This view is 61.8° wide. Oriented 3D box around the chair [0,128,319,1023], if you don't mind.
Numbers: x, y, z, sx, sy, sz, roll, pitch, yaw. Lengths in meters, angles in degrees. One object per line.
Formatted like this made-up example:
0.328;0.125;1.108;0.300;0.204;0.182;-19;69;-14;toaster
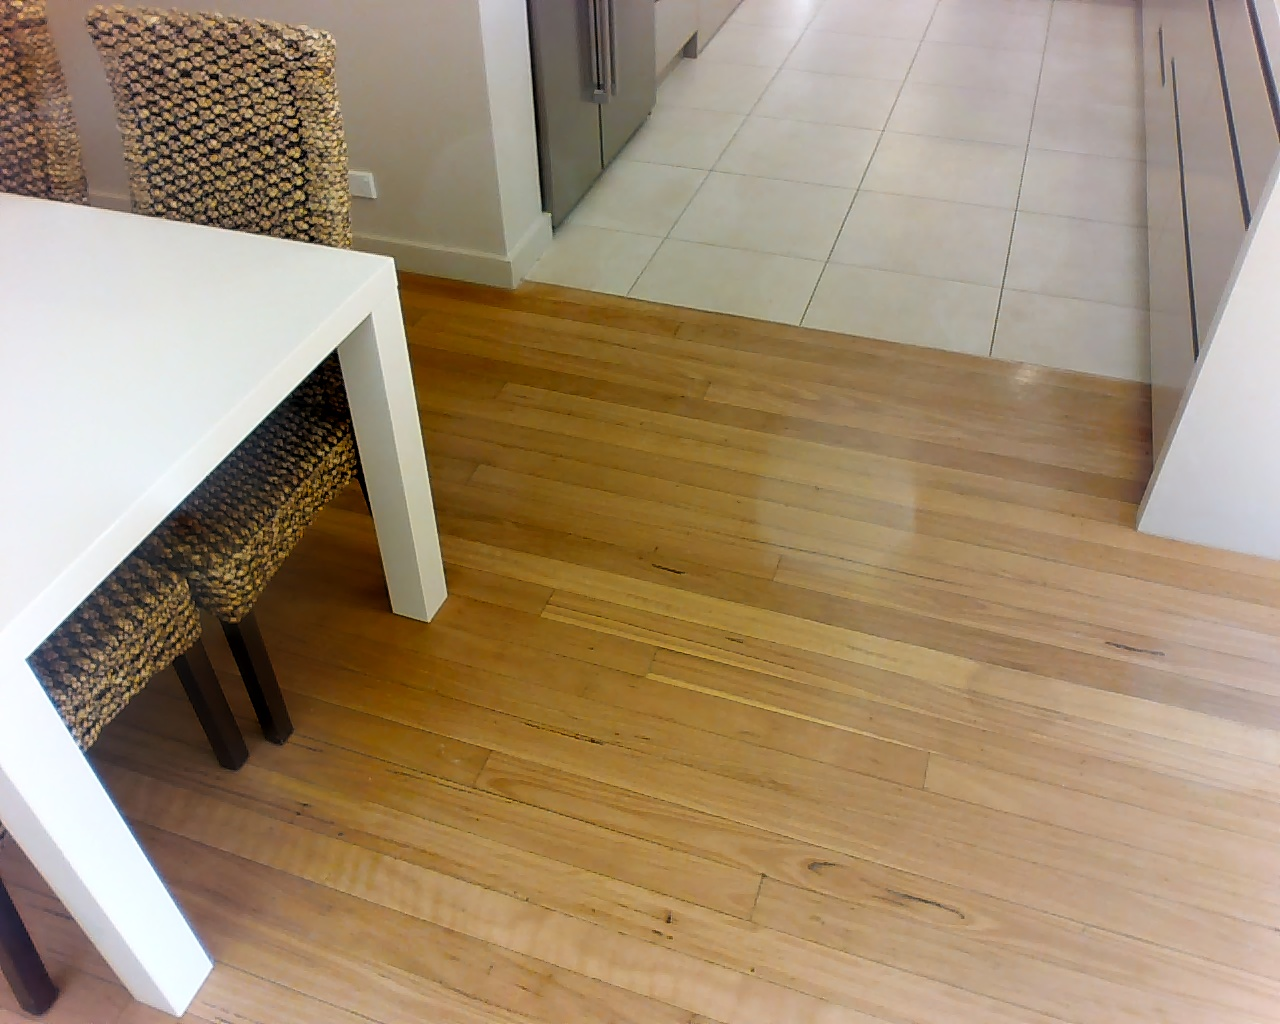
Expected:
-0.990;0.160;1.370;0.640;1.090;0.700;12;43;14;chair

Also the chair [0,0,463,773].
-0.740;-0.210;1.770;0.540;1.080;0.630;12;43;14;chair

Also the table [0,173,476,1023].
-1.390;0.000;1.800;1.870;0.780;1.030;12;43;14;table
